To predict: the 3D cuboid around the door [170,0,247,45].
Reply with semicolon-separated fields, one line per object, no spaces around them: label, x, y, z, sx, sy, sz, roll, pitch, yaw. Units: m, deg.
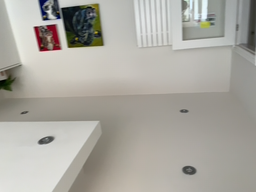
door;0.940;-1.690;2.500;0.890;2.050;0.200;0;-159;13
